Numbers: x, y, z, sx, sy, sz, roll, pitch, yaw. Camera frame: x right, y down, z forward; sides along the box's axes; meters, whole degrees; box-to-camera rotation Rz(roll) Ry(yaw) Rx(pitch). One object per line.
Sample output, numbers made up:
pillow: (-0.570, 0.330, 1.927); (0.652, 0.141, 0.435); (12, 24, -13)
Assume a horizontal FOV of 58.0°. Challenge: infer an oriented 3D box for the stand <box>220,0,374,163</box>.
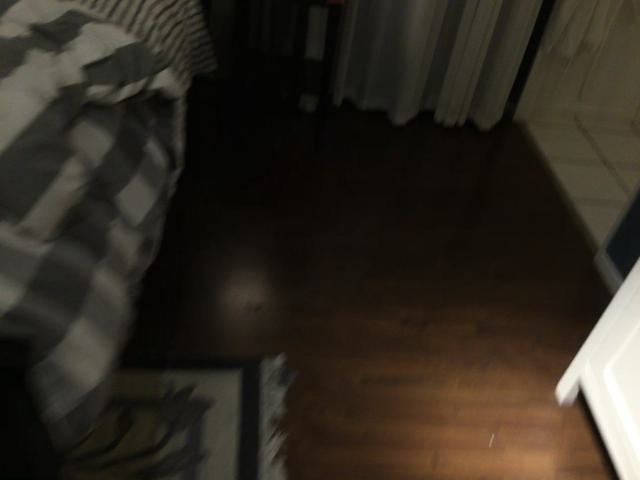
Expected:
stand: (-0.120, -0.780, 2.210); (0.490, 0.760, 0.550); (2, 40, -8)
